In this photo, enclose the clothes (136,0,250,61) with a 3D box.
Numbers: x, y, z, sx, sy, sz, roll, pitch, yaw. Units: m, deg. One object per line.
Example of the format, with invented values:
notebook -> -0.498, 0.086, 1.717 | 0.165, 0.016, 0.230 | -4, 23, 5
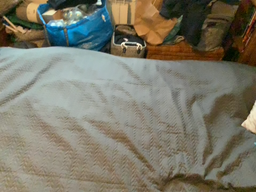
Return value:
clothes -> 0.520, -0.680, 1.970 | 0.840, 0.550, 0.360 | 3, 46, -2
